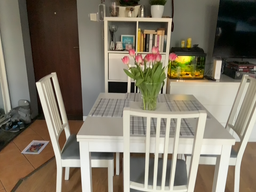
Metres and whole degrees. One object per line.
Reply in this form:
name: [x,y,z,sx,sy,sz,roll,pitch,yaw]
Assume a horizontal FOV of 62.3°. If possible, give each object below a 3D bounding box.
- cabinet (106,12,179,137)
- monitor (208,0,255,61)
cabinet: [0.150,-0.260,2.760,0.790,1.500,0.470,2,17,1]
monitor: [1.540,-0.710,2.340,1.140,0.630,0.110,5,22,9]
